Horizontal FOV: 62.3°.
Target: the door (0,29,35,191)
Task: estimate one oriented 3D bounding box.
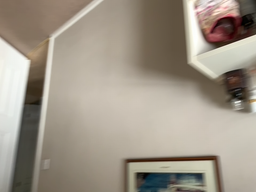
[{"bbox_3d":[-1.440,0.370,2.320,0.090,2.180,0.870,-3,163,8],"label":"door"}]
